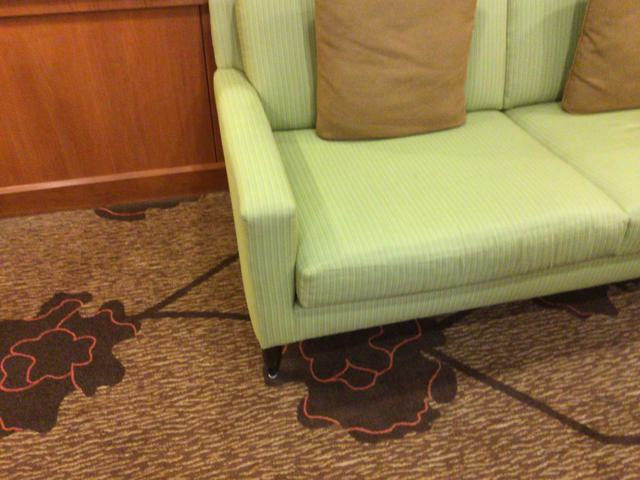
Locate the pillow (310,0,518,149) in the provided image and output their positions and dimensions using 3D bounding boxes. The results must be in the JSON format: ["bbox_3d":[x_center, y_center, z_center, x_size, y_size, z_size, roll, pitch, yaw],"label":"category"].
[{"bbox_3d":[0.270,-0.630,1.820,0.550,0.530,0.310,-9,39,-8],"label":"pillow"}]
